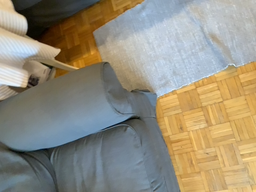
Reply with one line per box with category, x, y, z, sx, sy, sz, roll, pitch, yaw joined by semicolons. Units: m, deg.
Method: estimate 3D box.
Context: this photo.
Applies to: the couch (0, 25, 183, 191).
couch;-0.280;0.490;0.970;0.900;0.800;1.070;-18;79;19
